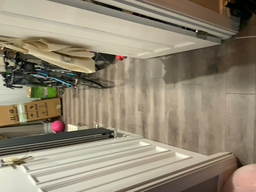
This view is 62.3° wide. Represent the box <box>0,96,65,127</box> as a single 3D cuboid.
[{"bbox_3d":[-1.940,0.280,3.630,0.680,1.460,0.390,-21,74,50],"label":"box"}]
